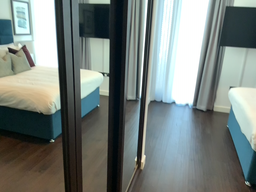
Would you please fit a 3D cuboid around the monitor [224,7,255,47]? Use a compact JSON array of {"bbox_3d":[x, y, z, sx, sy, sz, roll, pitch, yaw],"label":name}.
[{"bbox_3d":[2.240,-1.110,3.480,1.130,0.600,0.080,7,21,10],"label":"monitor"}]
